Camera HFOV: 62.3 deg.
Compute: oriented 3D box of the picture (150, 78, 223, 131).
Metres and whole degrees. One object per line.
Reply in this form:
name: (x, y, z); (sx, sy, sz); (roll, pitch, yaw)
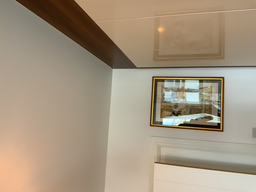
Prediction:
picture: (0.550, 0.070, 2.040); (0.050, 0.650, 0.480); (19, -106, -73)
